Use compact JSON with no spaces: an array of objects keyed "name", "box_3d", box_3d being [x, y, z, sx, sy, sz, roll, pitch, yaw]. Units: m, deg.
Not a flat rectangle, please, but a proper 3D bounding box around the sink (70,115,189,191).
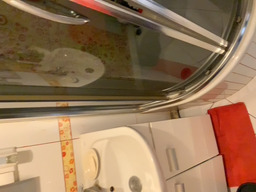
[{"name":"sink","box_3d":[-0.010,0.370,0.890,0.480,0.180,0.500,-17,78,42]}]
